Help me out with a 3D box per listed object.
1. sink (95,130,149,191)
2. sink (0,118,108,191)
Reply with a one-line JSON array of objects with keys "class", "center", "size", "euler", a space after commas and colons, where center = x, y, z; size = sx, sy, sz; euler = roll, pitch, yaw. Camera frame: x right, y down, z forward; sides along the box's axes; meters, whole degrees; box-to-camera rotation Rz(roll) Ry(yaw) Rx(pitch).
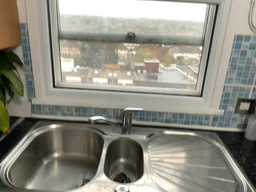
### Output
[{"class": "sink", "center": [-0.020, 0.330, 0.950], "size": [0.190, 0.190, 0.360], "euler": [4, 20, 0]}, {"class": "sink", "center": [-0.310, 0.320, 0.940], "size": [0.380, 0.210, 0.510], "euler": [4, 20, 0]}]
